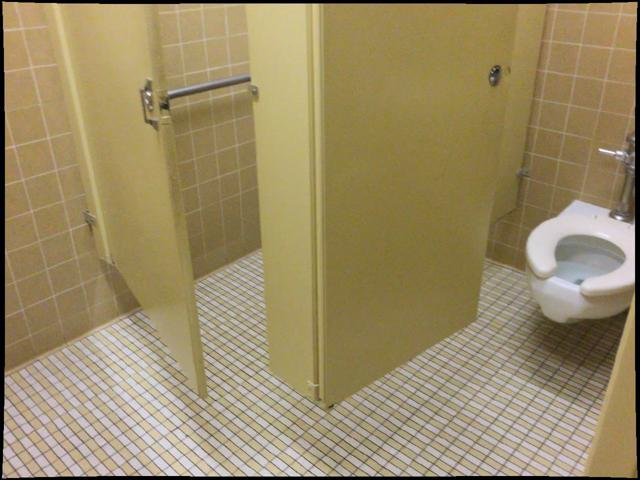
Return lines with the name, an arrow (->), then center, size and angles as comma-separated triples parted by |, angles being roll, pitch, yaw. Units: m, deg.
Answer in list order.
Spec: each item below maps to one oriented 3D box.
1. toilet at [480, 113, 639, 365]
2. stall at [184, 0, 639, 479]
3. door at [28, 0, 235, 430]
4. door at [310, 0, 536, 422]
toilet -> 0.918, -0.050, 1.960 | 0.419, 0.561, 0.660 | 20, 35, 36
stall -> 0.668, -0.180, 1.510 | 1.089, 1.573, 1.539 | 20, 35, 36
door -> -0.539, -0.361, 1.450 | 0.110, 1.493, 0.870 | -19, 32, -29
door -> 0.249, -0.311, 1.310 | 0.589, 1.493, 0.110 | -23, 34, -34
